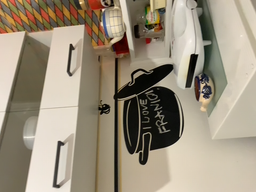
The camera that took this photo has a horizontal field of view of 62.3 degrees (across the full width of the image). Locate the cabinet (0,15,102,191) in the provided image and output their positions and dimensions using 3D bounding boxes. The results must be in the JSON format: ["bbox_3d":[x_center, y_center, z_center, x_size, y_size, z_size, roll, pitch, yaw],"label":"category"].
[{"bbox_3d":[-0.440,0.110,0.910,0.320,0.570,0.830,73,-167,-61],"label":"cabinet"}]
